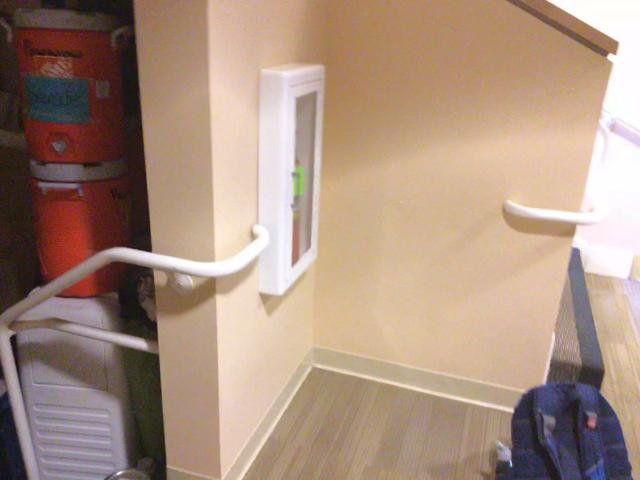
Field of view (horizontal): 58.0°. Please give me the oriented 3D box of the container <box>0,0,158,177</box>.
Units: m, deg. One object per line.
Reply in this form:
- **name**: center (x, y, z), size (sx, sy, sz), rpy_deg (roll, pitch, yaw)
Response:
- **container**: center (-0.810, -0.520, 1.860), size (0.420, 0.510, 0.330), rpy_deg (11, 24, 17)

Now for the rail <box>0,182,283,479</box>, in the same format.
- **rail**: center (-0.590, 0.520, 1.830), size (0.810, 1.230, 0.410), rpy_deg (11, 24, 17)

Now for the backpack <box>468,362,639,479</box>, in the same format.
- **backpack**: center (0.740, 0.670, 1.680), size (0.460, 0.400, 0.460), rpy_deg (4, 23, 0)

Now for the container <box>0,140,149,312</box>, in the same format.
- **container**: center (-0.820, -0.060, 1.970), size (0.310, 0.470, 0.300), rpy_deg (11, 24, 17)
